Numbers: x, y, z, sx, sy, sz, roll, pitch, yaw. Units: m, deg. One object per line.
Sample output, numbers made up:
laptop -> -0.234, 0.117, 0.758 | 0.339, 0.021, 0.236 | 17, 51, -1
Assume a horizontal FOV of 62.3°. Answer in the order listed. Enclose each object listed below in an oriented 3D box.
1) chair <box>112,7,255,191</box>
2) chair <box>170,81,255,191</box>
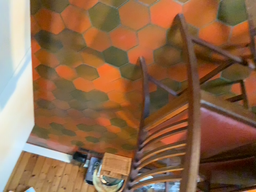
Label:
chair -> 0.280, 0.130, 0.940 | 0.460, 0.870, 0.420 | 24, 143, -17
chair -> 0.540, 0.410, 1.270 | 0.420, 0.860, 0.390 | -18, 136, 34
